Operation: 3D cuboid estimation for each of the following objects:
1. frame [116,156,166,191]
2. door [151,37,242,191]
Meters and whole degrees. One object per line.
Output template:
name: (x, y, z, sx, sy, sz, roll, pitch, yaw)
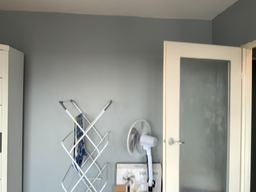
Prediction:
frame: (0.150, 1.110, 2.600, 0.590, 0.670, 0.200, 1, 0, -5)
door: (0.680, 0.490, 2.060, 0.930, 2.000, 0.140, 1, 0, -18)
